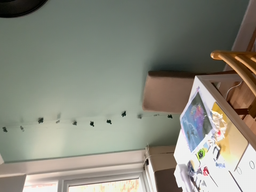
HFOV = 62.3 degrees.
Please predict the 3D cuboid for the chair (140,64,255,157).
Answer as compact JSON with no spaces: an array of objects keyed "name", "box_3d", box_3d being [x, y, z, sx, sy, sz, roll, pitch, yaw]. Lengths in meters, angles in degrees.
[{"name":"chair","box_3d":[0.610,0.100,1.850,0.530,0.880,0.550,-106,16,-53]}]
